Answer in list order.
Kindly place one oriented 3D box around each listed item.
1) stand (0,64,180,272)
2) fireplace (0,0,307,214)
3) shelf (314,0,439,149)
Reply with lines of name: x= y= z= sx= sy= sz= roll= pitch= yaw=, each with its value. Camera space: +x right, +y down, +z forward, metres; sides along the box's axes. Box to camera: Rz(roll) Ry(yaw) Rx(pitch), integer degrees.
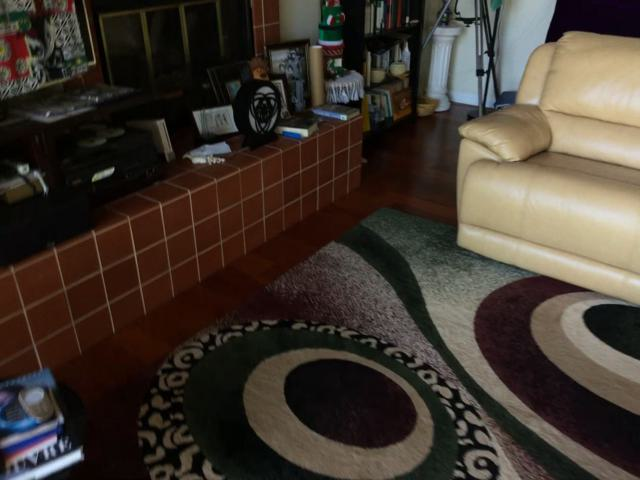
stand: x=-1.220 y=-0.240 z=2.110 sx=0.540 sy=0.490 sz=1.270 roll=14 pitch=34 yaw=34
fireplace: x=-1.040 y=-1.190 z=2.860 sx=0.680 sy=1.330 sz=2.100 roll=14 pitch=34 yaw=34
shelf: x=0.420 y=-1.660 z=4.050 sx=0.420 sy=1.770 sz=0.960 roll=14 pitch=34 yaw=34
